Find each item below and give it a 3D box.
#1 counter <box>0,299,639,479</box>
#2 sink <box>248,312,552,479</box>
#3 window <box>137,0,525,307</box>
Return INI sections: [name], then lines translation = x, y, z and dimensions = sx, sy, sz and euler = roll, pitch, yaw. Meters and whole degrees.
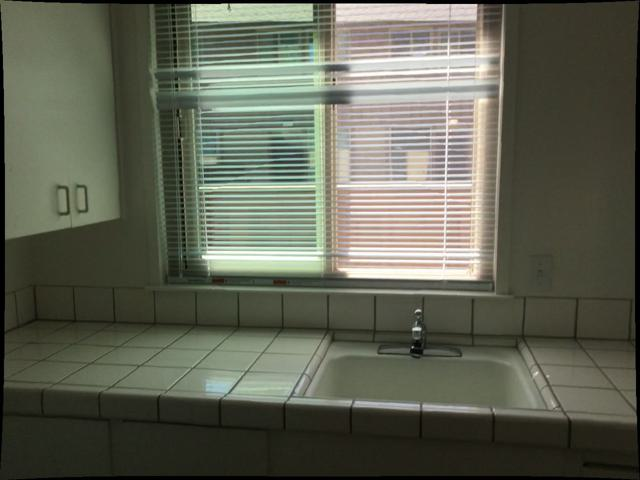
[counter]
translation = -0.040, 0.371, 1.650
dimensions = 2.127, 0.120, 0.640
euler = 2, 11, 11
[sink]
translation = 0.220, 0.431, 1.610
dimensions = 0.679, 0.250, 0.600
euler = 2, 11, 11
[window]
translation = 0.020, -0.391, 1.920
dimensions = 1.188, 1.132, 0.240
euler = 2, 11, 11
